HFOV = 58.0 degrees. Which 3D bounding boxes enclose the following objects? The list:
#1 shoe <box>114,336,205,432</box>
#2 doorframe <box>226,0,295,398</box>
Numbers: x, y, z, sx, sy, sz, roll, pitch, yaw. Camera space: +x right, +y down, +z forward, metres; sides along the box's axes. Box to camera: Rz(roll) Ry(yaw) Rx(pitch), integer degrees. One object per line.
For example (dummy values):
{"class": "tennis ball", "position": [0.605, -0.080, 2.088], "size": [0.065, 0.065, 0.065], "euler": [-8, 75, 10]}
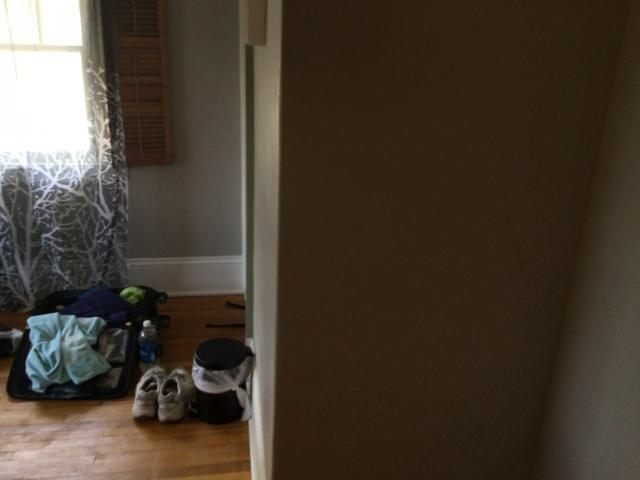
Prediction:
{"class": "shoe", "position": [-0.680, 0.600, 2.490], "size": [0.340, 0.130, 0.500], "euler": [0, 20, -14]}
{"class": "doorframe", "position": [-0.300, -0.510, 2.580], "size": [0.150, 2.140, 1.020], "euler": [-2, 20, -13]}
